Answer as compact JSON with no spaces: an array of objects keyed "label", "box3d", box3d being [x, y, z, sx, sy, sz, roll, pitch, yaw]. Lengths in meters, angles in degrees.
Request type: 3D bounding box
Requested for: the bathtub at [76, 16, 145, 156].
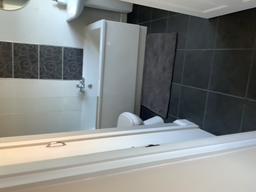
[{"label":"bathtub","box3d":[-0.290,-0.140,2.900,0.740,0.590,1.630,23,111,60]}]
